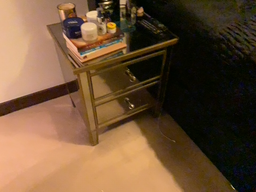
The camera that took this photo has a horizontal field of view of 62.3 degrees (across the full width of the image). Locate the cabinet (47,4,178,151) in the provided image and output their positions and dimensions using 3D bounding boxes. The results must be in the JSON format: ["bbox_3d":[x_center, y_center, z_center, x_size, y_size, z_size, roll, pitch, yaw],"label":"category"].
[{"bbox_3d":[-0.110,-0.130,1.240,0.470,0.540,0.540,-19,48,-19],"label":"cabinet"}]
